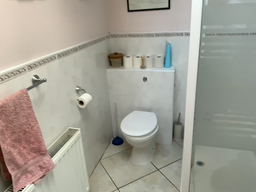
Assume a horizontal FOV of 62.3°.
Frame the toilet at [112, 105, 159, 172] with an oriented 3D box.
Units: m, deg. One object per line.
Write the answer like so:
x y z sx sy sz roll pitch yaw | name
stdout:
0.110 0.430 2.280 0.370 0.470 0.510 4 24 15 | toilet

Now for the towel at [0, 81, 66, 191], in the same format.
-0.530 0.210 1.120 0.170 0.490 0.320 4 24 17 | towel
